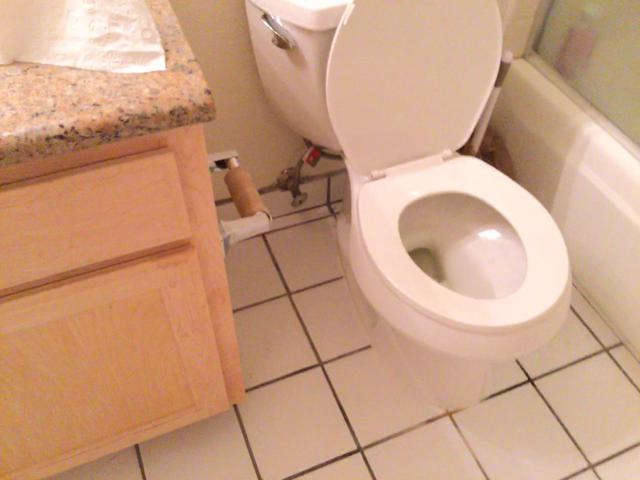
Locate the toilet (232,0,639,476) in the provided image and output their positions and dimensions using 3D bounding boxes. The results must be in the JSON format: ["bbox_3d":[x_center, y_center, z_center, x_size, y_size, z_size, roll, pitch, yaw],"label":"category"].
[{"bbox_3d":[0.190,-0.120,1.140,0.500,0.780,0.730,-15,49,-15],"label":"toilet"}]
